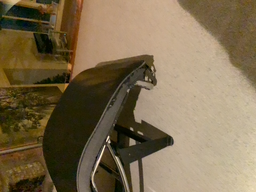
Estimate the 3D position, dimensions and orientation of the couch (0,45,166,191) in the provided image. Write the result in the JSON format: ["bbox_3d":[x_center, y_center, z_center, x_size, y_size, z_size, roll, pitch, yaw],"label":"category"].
[{"bbox_3d":[-0.280,0.550,1.060,0.600,0.670,1.470,8,100,49],"label":"couch"}]
